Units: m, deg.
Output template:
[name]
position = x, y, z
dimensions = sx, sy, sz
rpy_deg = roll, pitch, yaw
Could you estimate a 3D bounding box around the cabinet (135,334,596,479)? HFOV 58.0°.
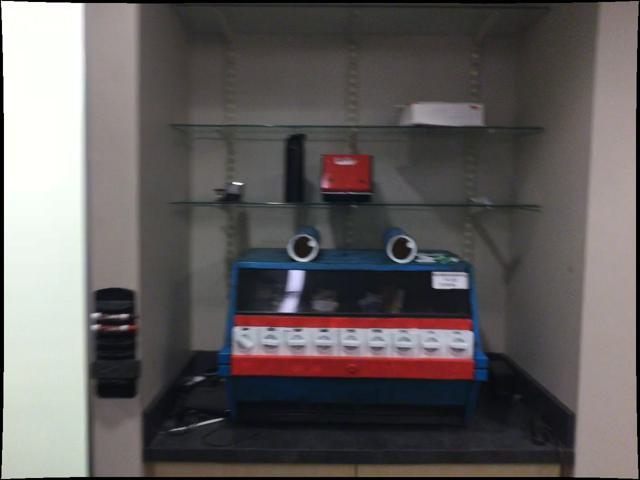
[cabinet]
position = 0.110, 0.902, 1.890
dimensions = 1.227, 1.012, 0.620
rpy_deg = 2, 5, 2
